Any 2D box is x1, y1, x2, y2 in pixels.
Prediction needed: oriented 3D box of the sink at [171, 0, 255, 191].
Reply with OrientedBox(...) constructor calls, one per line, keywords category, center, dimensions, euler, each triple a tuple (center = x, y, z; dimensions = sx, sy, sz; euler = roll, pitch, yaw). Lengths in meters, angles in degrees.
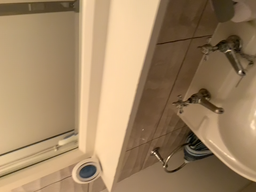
OrientedBox(category="sink", center=(0.430, 0.010, 0.640), dimensions=(0.440, 0.180, 0.620), euler=(51, 144, 34))
